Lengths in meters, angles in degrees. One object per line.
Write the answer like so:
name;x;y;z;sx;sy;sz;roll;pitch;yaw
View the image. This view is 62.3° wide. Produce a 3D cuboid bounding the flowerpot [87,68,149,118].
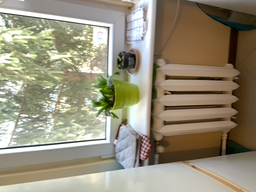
flowerpot;-0.060;-0.020;1.110;0.210;0.260;0.230;-170;81;-65
